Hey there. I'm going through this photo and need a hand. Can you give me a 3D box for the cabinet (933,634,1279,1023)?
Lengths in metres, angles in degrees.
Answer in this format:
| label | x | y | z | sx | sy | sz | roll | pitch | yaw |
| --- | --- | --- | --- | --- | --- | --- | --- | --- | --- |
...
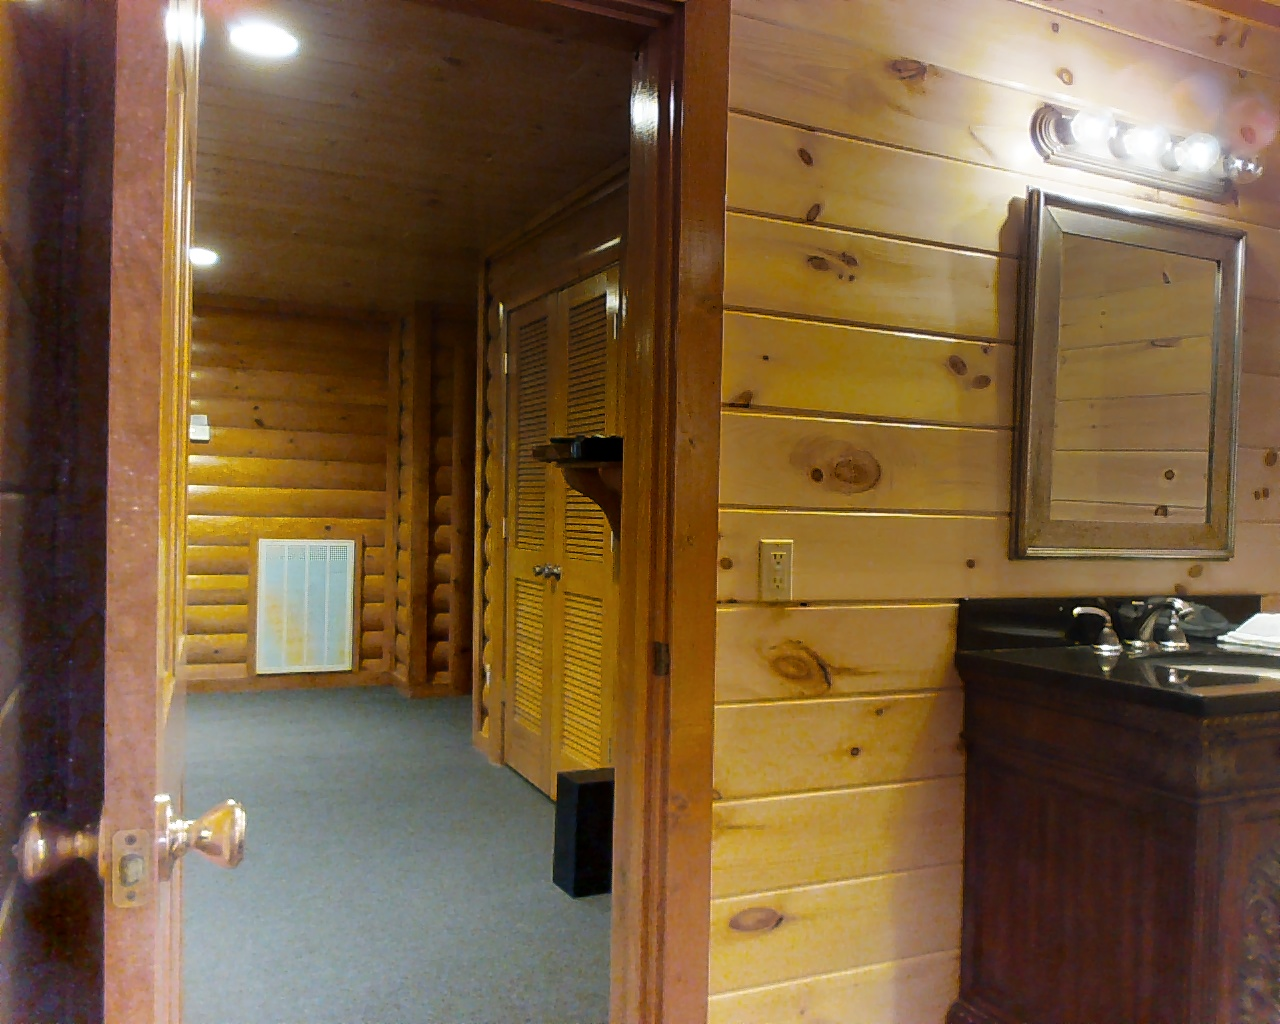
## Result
| label | x | y | z | sx | sy | sz | roll | pitch | yaw |
| --- | --- | --- | --- | --- | --- | --- | --- | --- | --- |
| cabinet | 1.140 | 0.740 | 2.080 | 0.950 | 0.910 | 0.580 | 1 | 0 | -26 |
